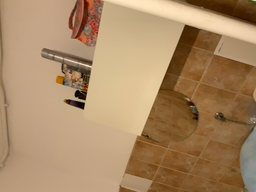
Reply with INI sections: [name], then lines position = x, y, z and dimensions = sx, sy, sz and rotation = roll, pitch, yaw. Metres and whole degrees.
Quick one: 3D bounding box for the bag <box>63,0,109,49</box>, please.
[bag]
position = -0.220, -0.450, 1.140
dimensions = 0.180, 0.170, 0.310
rotation = -76, 2, -60
